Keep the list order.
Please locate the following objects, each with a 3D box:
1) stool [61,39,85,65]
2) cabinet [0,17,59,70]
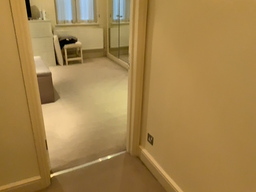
[{"bbox_3d":[-1.270,-1.030,4.900,0.430,0.490,0.380,-11,29,-27],"label":"stool"},{"bbox_3d":[-2.050,-1.130,4.470,0.970,0.960,0.440,-11,29,-27],"label":"cabinet"}]
